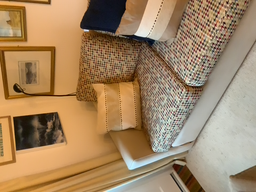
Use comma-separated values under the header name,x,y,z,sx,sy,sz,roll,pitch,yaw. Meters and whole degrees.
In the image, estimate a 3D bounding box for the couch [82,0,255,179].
name,x,y,z,sx,sy,sz,roll,pitch,yaw
couch,0.290,-0.640,1.550,1.180,0.650,2.270,54,139,41
